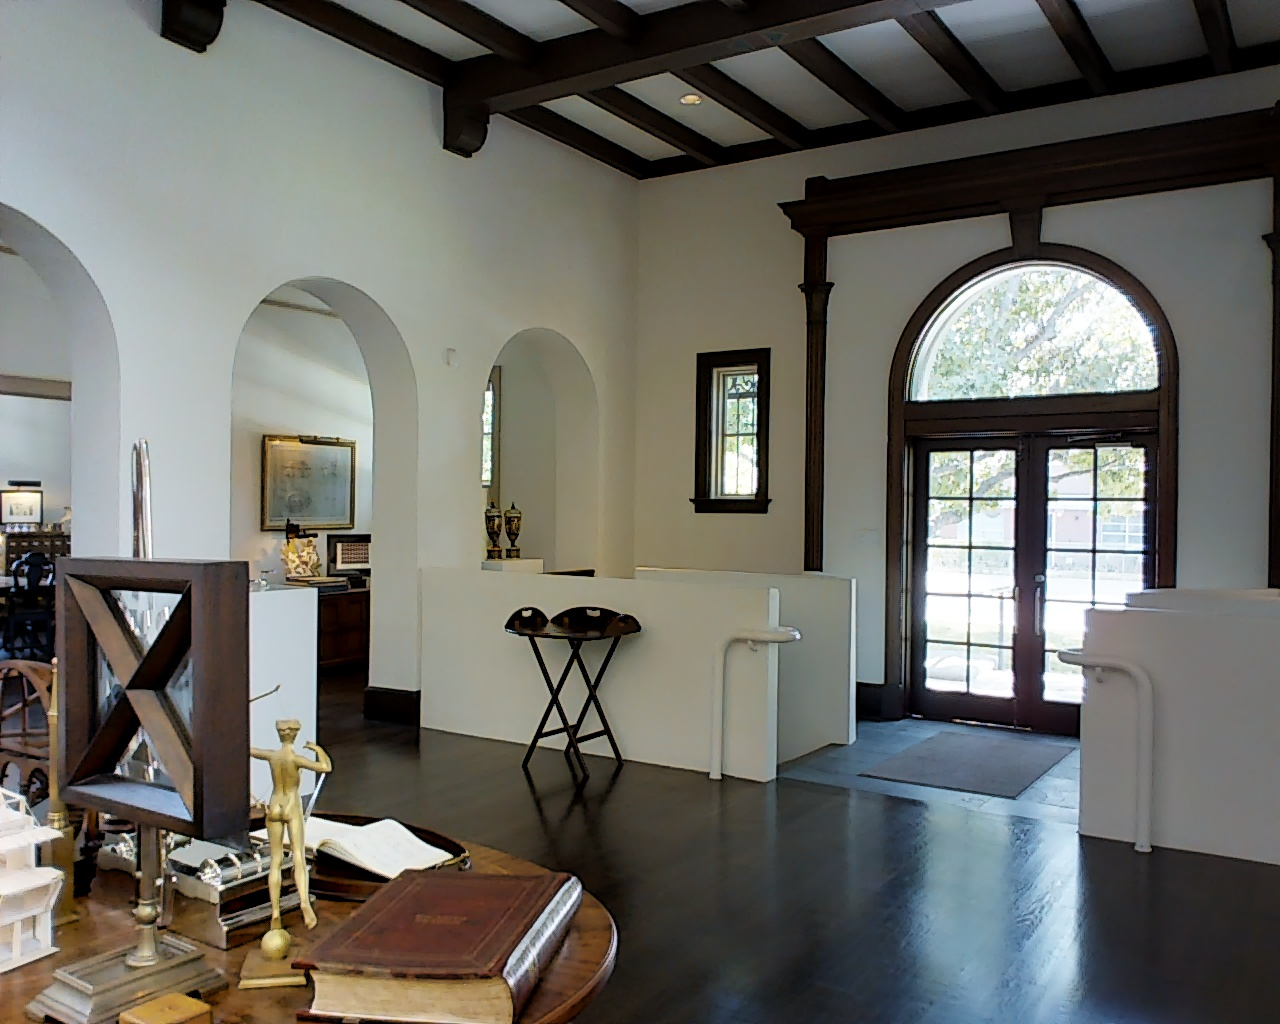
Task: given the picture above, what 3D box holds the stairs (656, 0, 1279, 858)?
[{"bbox_3d":[2.390,-0.370,6.420,3.600,3.630,2.830,1,0,33],"label":"stairs"}]
